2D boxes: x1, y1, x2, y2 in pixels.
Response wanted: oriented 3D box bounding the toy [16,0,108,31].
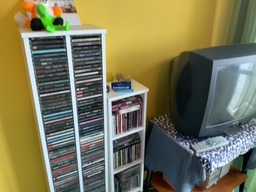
[{"bbox_3d":[-0.270,-0.360,0.870,0.310,0.140,0.210,-13,29,-29],"label":"toy"}]
